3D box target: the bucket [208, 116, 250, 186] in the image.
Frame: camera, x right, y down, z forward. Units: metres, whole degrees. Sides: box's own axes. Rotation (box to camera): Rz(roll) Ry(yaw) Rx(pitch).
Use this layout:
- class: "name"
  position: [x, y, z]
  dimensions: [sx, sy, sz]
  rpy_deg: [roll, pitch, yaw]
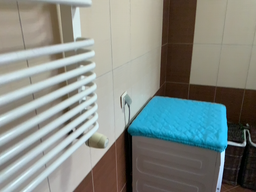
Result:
- class: "bucket"
  position: [0.950, 0.510, 2.050]
  dimensions: [0.270, 0.490, 0.390]
  rpy_deg: [6, 21, 19]
